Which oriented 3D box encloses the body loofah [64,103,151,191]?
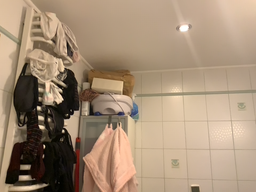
[{"bbox_3d":[-0.180,0.780,1.580,0.380,1.340,0.630,11,-16,-35],"label":"body loofah"}]
